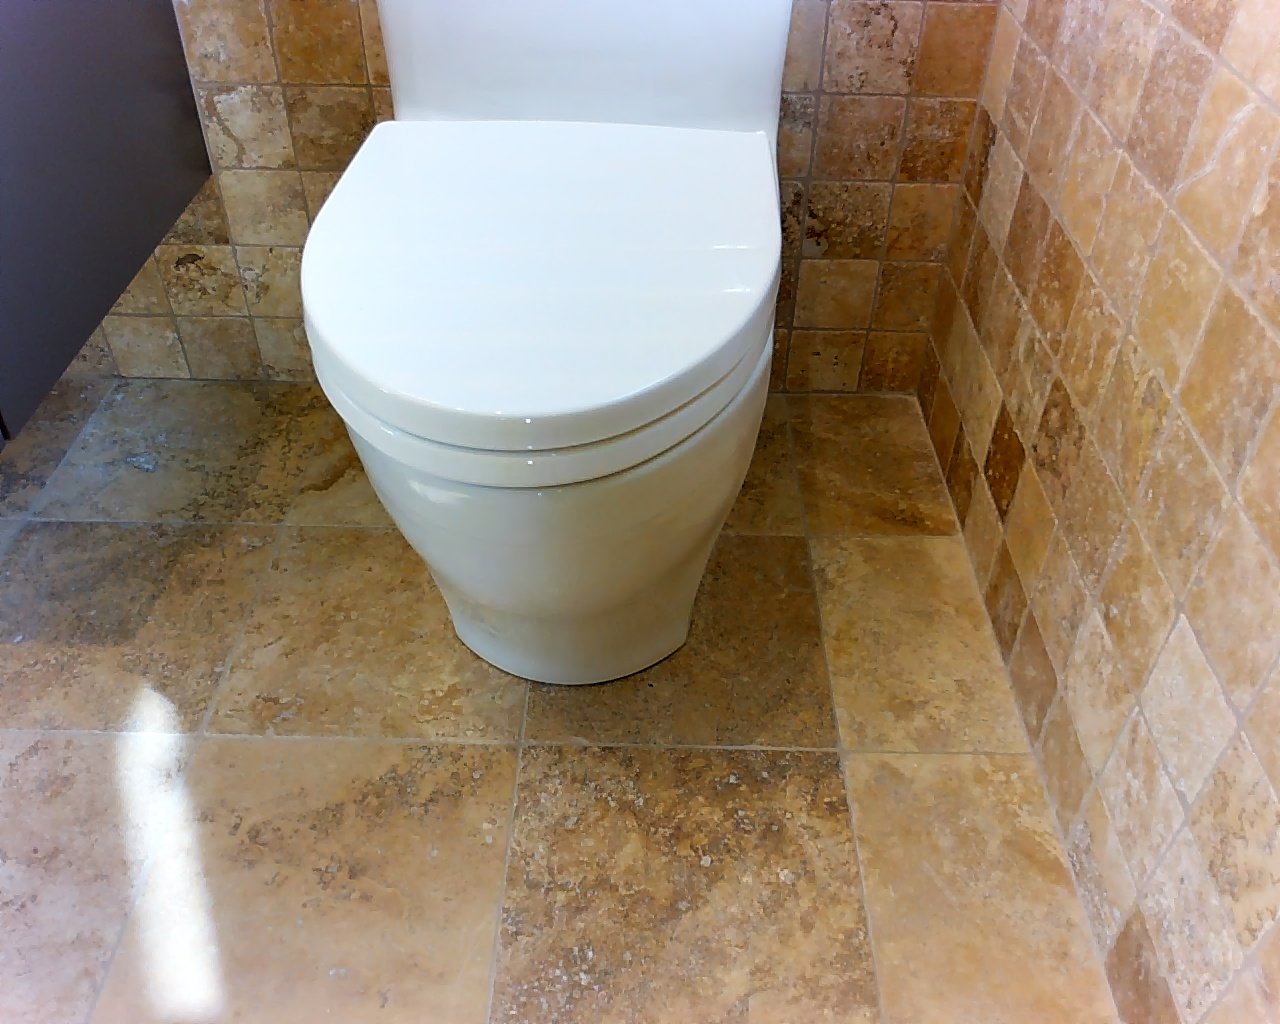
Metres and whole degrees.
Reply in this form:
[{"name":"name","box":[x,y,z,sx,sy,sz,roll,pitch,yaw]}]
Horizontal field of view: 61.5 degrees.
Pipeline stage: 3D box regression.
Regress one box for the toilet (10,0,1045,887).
[{"name":"toilet","box":[-0.050,-0.200,0.970,0.460,0.750,0.720,2,40,0]}]
